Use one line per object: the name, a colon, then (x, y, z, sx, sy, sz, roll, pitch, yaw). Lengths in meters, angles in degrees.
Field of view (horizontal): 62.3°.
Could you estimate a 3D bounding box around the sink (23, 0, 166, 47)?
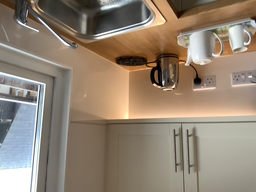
sink: (-0.140, -0.450, 1.010, 0.520, 0.200, 0.410, -5, 169, 29)
